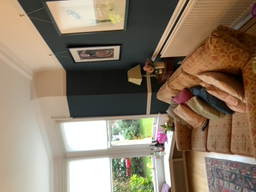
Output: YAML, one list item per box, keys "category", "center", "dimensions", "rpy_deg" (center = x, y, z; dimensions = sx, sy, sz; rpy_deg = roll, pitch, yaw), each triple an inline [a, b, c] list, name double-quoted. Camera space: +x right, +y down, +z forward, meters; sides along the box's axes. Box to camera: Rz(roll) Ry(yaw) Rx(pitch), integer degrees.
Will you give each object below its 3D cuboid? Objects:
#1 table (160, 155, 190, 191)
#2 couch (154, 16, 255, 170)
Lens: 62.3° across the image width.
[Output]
- category: "table"
  center: [1.040, 1.840, 4.700]
  dimensions: [0.450, 0.460, 0.960]
  rpy_deg: [110, 158, -77]
- category: "couch"
  center: [0.960, 0.130, 2.430]
  dimensions: [2.060, 0.860, 1.030]
  rpy_deg: [112, 155, -78]
